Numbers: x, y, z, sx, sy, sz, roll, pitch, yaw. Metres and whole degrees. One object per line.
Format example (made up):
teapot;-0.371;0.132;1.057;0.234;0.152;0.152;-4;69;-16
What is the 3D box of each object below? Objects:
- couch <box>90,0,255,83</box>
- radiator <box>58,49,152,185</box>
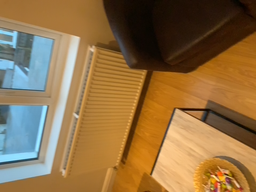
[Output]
couch;0.330;-0.630;1.370;0.790;0.790;0.750;-35;63;40
radiator;-0.190;0.210;1.890;0.090;0.640;1.130;29;109;44
